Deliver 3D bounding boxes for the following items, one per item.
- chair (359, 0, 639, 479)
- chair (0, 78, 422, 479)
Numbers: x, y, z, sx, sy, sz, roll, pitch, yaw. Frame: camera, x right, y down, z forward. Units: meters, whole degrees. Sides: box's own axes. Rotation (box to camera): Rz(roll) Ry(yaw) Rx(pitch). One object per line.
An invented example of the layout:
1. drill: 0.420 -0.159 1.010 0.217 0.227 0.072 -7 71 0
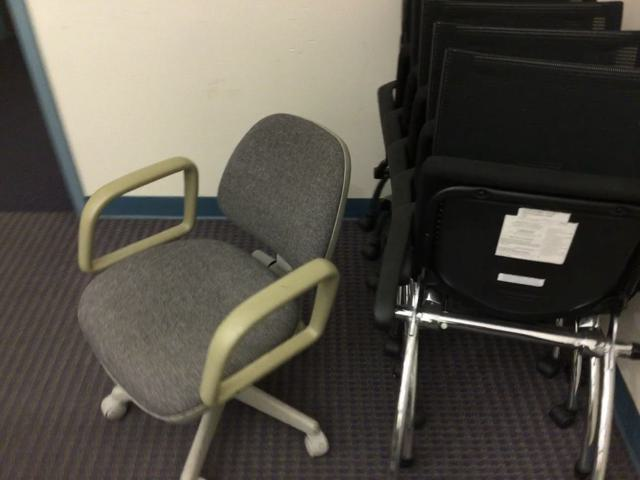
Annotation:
1. chair: 0.430 -0.140 1.430 0.600 0.920 0.990 3 35 1
2. chair: -0.250 0.160 1.370 0.630 0.790 0.640 27 42 31
